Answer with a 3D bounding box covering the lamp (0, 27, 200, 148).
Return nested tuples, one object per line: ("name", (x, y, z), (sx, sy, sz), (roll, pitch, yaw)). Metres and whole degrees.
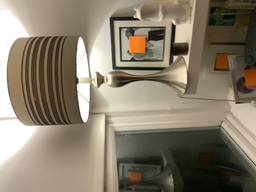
("lamp", (-0.110, -0.060, 0.880), (0.330, 0.660, 0.370), (-101, 9, -64))
